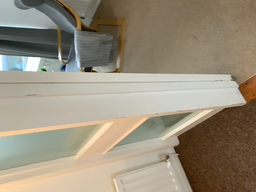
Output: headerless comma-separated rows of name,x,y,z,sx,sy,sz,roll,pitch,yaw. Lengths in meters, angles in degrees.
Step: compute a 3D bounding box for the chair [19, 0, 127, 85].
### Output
chair,-0.620,-0.580,2.320,0.670,0.920,0.770,25,112,51
